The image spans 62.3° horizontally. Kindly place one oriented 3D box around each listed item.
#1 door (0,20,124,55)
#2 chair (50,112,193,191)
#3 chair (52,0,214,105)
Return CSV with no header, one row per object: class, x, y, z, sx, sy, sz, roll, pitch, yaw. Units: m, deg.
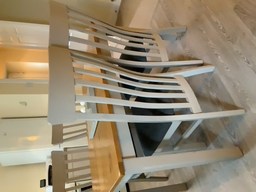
door,-1.150,-0.890,3.380,0.870,1.990,0.080,159,109,-69
chair,-0.130,0.540,1.870,0.700,1.050,0.460,115,149,-49
chair,-0.030,-0.300,1.620,0.590,1.040,0.460,112,151,-45
